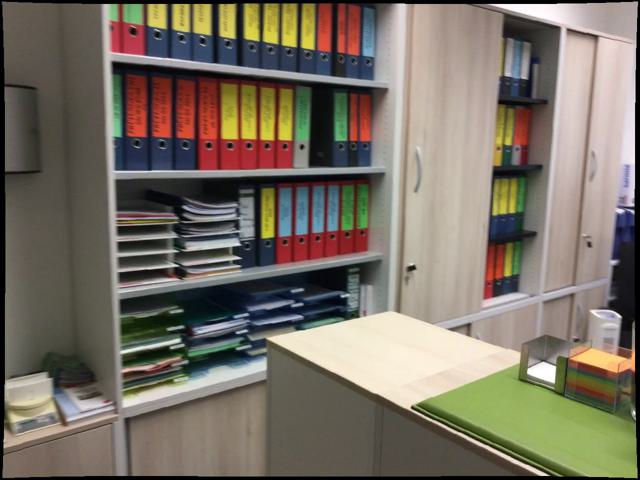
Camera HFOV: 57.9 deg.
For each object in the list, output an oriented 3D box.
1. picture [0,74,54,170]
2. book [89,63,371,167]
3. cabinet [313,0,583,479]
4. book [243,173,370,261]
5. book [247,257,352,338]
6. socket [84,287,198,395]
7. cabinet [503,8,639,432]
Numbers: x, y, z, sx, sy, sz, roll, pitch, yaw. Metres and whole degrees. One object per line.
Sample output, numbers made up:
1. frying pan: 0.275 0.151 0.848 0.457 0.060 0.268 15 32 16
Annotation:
1. picture: -1.009 -0.360 1.770 0.320 0.280 0.130 -7 13 -40
2. book: -0.260 -0.430 2.110 1.079 0.300 0.160 -7 13 -40
3. cabinet: 0.649 -0.020 2.850 1.359 2.242 0.410 -7 13 -40
4. book: -0.050 -0.110 2.390 0.520 0.310 0.180 -7 13 -40
5. book: -0.090 0.230 2.450 0.320 0.230 0.300 -7 13 -40
6. socket: -0.619 0.330 1.990 0.250 0.230 0.350 -7 13 -40
7. cabinet: 1.668 -0.110 3.510 1.249 2.232 0.250 -7 13 -40
